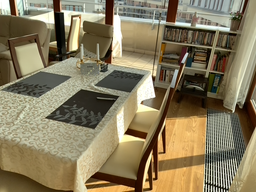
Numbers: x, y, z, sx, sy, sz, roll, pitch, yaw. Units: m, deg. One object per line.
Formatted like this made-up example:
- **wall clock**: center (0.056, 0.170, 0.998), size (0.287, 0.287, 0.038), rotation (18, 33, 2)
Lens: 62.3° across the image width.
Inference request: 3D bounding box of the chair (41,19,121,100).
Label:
- **chair**: center (-0.700, -0.640, 3.370), size (0.670, 0.980, 0.980), rotation (19, 29, 28)

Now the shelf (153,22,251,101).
- **shelf**: center (1.130, -0.580, 3.470), size (1.270, 1.060, 0.280), rotation (12, 27, 16)

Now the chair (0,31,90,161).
- **chair**: center (-0.720, -0.010, 1.980), size (0.580, 1.030, 0.440), rotation (12, 27, 16)

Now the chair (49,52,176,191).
- **chair**: center (-0.080, 0.310, 1.400), size (0.580, 1.030, 0.460), rotation (11, 26, 13)
